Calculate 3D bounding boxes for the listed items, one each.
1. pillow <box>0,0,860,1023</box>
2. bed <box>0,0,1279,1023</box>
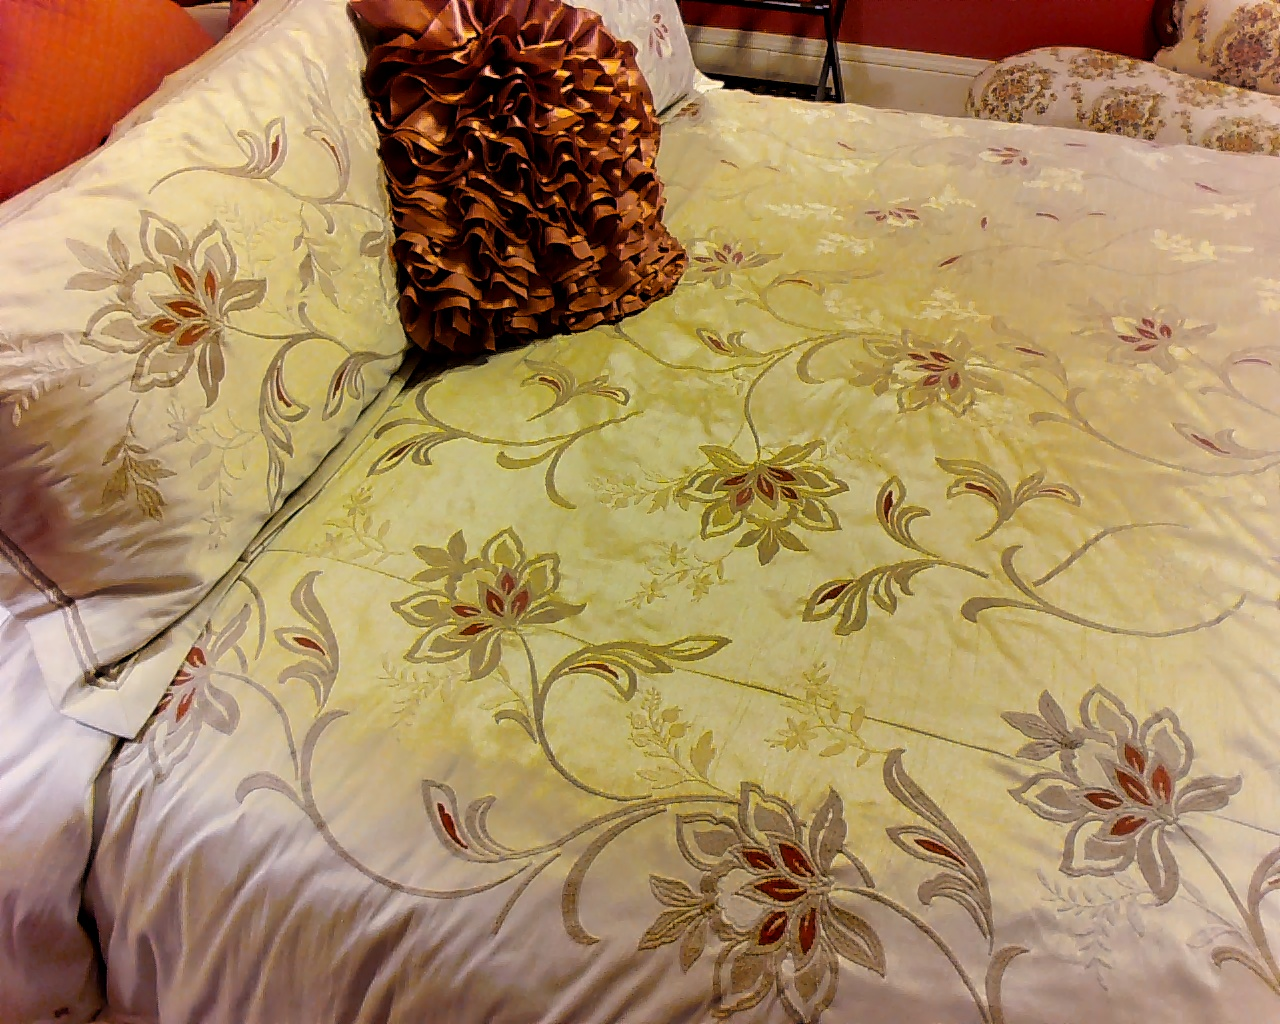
[{"bbox_3d":[-0.410,-0.680,1.470,1.020,0.660,2.240,15,44,15],"label":"pillow"},{"bbox_3d":[0.200,-0.270,1.550,2.320,1.590,2.320,15,44,15],"label":"bed"}]
